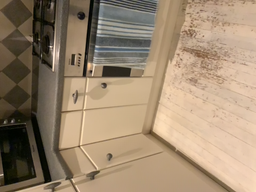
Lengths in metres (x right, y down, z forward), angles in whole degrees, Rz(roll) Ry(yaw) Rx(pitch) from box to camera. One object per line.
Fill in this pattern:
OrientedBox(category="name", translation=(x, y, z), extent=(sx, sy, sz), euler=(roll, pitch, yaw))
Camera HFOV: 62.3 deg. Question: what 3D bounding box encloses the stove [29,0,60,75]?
OrientedBox(category="stove", translation=(-0.530, -0.500, 1.310), extent=(0.570, 0.020, 0.590), euler=(33, 120, 47))
